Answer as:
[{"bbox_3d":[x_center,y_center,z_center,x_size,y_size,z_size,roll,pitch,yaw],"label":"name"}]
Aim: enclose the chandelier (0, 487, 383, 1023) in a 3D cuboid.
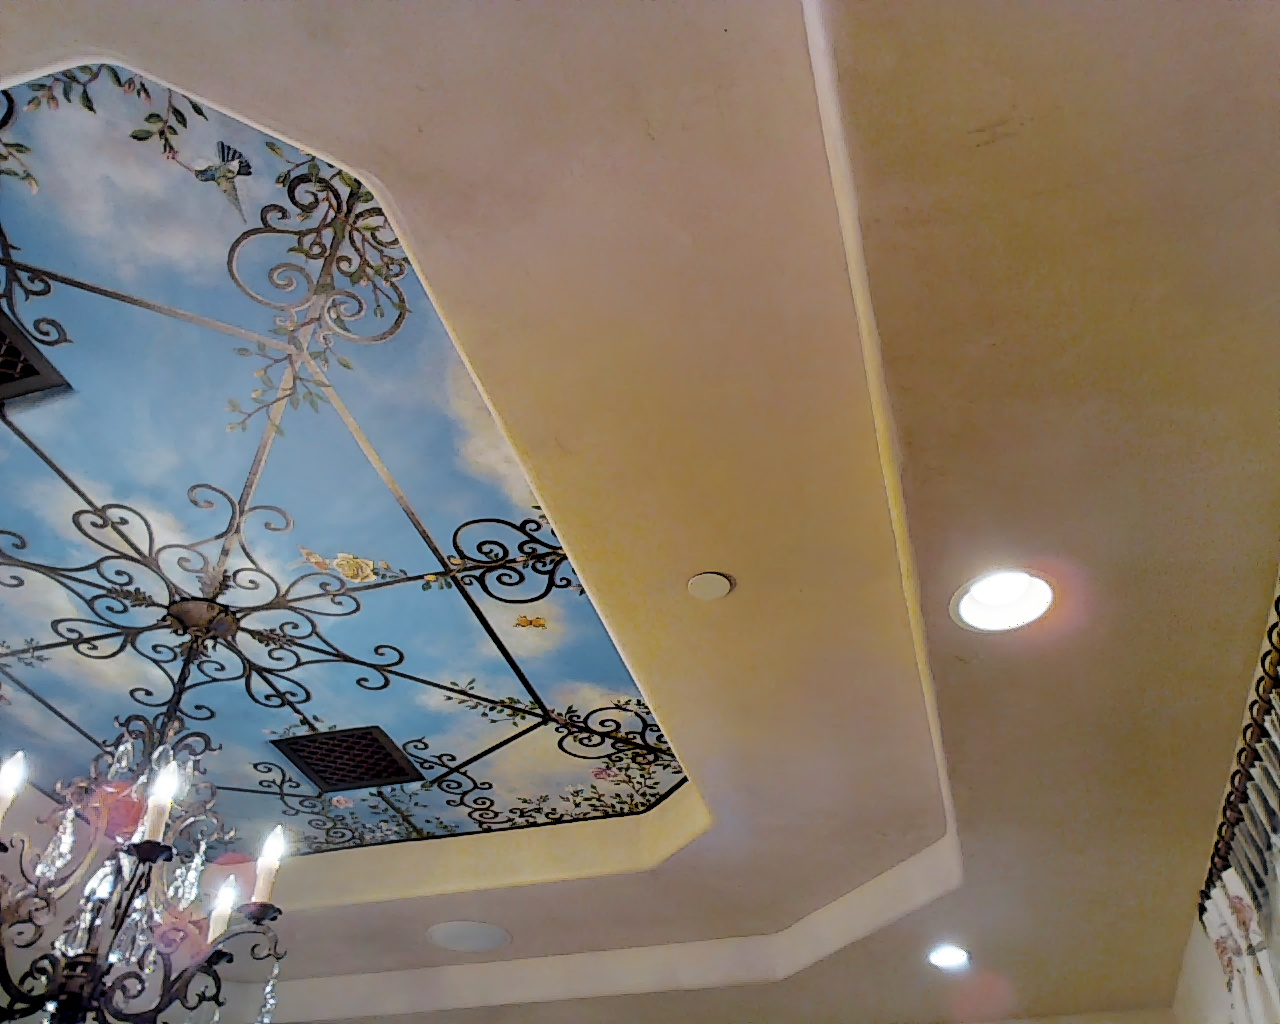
[{"bbox_3d":[-1.030,0.550,2.100,0.760,0.890,0.700,-11,-20,13],"label":"chandelier"}]
